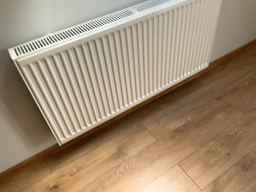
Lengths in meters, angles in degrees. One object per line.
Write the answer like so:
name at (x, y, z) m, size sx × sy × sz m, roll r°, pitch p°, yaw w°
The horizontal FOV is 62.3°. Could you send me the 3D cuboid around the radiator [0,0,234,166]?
radiator at (0.090, -0.170, 1.300) m, size 1.310 × 0.780 × 0.140 m, roll -27°, pitch 48°, yaw -20°
